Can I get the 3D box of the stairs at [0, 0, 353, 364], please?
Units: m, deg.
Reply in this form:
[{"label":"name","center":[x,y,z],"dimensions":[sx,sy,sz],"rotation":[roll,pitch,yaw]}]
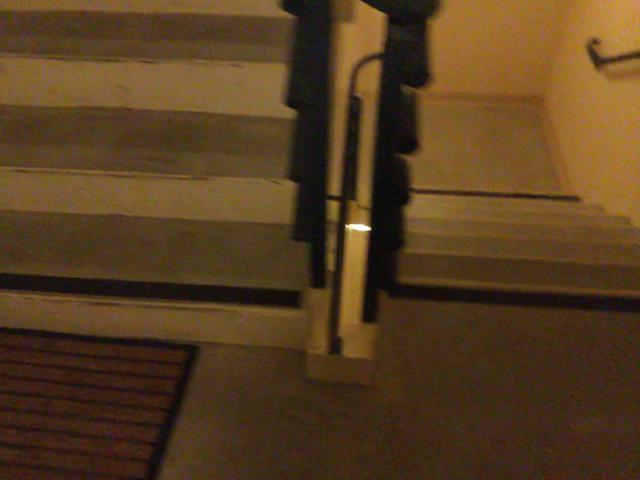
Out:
[{"label":"stairs","center":[-0.520,-0.780,1.660],"dimensions":[1.170,1.030,1.900],"rotation":[2,49,4]}]
